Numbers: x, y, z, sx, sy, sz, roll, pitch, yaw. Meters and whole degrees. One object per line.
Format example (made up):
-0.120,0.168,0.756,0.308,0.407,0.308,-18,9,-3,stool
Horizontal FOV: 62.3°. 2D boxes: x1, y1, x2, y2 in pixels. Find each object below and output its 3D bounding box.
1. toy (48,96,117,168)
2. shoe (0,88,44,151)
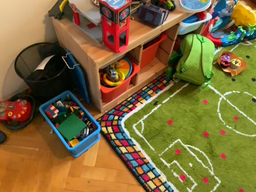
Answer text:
-0.270,0.210,1.300,0.280,0.140,0.310,-32,65,-21,toy
-0.750,0.150,1.350,0.300,0.150,0.260,-28,63,-19,shoe
